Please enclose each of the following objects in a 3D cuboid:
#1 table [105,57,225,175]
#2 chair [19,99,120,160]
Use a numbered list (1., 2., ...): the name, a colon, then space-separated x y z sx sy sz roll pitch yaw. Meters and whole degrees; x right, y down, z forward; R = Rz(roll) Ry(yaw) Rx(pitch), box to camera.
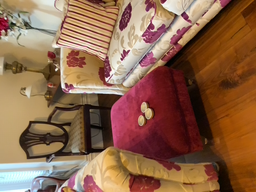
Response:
1. table: 0.190 0.200 1.570 0.730 0.400 0.590 -42 50 49
2. chair: -0.660 0.400 2.420 0.530 0.960 0.510 -36 55 52
